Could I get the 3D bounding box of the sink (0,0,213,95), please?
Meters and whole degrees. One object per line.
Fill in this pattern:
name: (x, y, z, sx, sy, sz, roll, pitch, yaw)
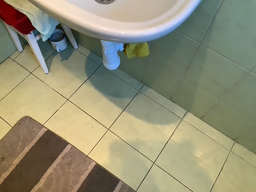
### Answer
sink: (-0.070, -0.330, 0.560, 0.540, 0.170, 0.400, 33, 67, 13)
